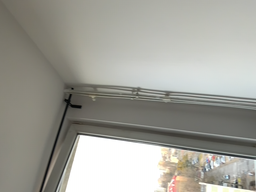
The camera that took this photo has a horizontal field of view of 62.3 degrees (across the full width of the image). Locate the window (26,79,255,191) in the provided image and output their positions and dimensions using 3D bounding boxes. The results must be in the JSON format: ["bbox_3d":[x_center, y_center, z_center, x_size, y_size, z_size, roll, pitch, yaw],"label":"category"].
[{"bbox_3d":[0.160,0.890,1.430,0.280,1.770,1.950,74,-157,-66],"label":"window"}]
